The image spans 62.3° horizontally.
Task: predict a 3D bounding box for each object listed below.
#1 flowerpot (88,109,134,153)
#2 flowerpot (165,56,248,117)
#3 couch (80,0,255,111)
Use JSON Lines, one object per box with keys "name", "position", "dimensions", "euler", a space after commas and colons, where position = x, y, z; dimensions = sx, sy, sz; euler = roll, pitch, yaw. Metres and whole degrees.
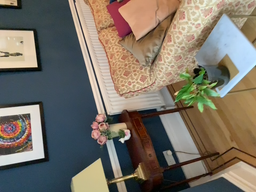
{"name": "flowerpot", "position": [-0.170, 0.320, 1.970], "dimensions": [0.220, 0.330, 0.280], "euler": [112, 145, -49]}
{"name": "flowerpot", "position": [0.430, -0.060, 1.210], "dimensions": [0.220, 0.310, 0.240], "euler": [117, 141, -53]}
{"name": "couch", "position": [0.150, -1.010, 1.930], "dimensions": [1.040, 0.880, 1.930], "euler": [113, 144, -50]}
